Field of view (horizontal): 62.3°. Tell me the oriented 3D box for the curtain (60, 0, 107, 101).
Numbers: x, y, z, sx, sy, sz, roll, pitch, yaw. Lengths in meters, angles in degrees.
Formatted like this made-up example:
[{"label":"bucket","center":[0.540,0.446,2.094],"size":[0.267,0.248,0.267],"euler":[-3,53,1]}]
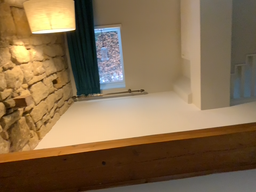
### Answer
[{"label":"curtain","center":[-0.730,-1.170,3.280],"size":[0.500,2.500,0.210],"euler":[-8,-164,-6]}]
